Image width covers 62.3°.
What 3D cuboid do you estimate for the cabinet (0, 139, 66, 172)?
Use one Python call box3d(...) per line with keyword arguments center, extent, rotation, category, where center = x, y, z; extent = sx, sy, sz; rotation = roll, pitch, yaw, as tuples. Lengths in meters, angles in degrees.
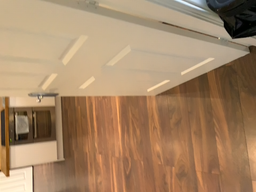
box3d(center=(-1.640, 0.970, 3.600), extent=(0.650, 0.920, 0.350), rotation=(-15, 79, 52), category="cabinet")
